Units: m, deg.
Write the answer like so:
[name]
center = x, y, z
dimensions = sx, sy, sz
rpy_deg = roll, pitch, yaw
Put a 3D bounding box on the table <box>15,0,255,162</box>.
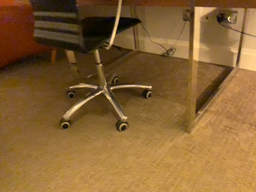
[table]
center = 0.180, -0.440, 1.420
dimensions = 1.880, 0.740, 0.860
rpy_deg = 19, 41, 37
